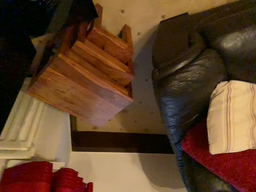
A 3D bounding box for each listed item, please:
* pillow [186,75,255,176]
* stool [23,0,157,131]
[{"bbox_3d":[0.670,0.120,1.100,0.610,0.420,0.180,-1,145,-27],"label":"pillow"},{"bbox_3d":[-0.210,-0.180,1.240,0.490,0.450,0.480,29,126,-30],"label":"stool"}]
